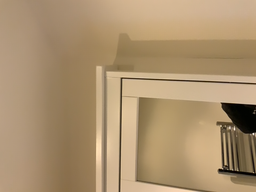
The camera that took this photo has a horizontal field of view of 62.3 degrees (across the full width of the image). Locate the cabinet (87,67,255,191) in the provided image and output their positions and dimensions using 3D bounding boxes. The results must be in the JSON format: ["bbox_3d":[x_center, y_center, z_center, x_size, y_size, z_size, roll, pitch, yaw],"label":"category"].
[{"bbox_3d":[0.370,0.340,0.650,0.160,0.990,0.810,-35,-52,-74],"label":"cabinet"}]
